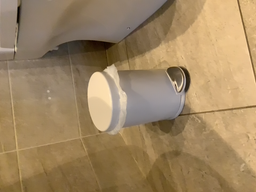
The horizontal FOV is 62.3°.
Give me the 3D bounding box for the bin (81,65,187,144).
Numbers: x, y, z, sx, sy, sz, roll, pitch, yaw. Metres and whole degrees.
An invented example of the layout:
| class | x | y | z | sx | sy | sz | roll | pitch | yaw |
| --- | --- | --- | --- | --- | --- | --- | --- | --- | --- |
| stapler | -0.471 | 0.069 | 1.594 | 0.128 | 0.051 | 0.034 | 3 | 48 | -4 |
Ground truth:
| class | x | y | z | sx | sy | sz | roll | pitch | yaw |
| --- | --- | --- | --- | --- | --- | --- | --- | --- | --- |
| bin | 0.010 | 0.020 | 0.640 | 0.200 | 0.230 | 0.180 | -10 | 86 | 59 |
